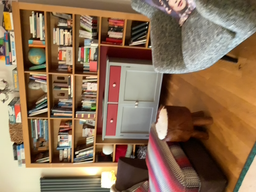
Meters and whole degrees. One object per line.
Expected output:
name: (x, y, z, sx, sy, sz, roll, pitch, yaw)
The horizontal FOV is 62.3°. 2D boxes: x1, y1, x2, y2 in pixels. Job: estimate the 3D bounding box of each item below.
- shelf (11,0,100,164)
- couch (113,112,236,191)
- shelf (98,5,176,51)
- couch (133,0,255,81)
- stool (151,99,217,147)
shelf: (-0.980, -0.080, 3.070, 0.330, 1.000, 2.350, -111, 26, -66)
couch: (0.300, 0.870, 2.190, 1.110, 0.740, 1.000, -111, 26, -66)
shelf: (0.100, -0.930, 2.920, 0.270, 0.990, 0.490, -111, 26, -66)
couch: (0.500, -0.670, 1.400, 0.890, 0.760, 0.870, 128, 143, -73)
stool: (0.500, 0.250, 2.000, 0.320, 0.460, 0.320, -111, 26, -66)
